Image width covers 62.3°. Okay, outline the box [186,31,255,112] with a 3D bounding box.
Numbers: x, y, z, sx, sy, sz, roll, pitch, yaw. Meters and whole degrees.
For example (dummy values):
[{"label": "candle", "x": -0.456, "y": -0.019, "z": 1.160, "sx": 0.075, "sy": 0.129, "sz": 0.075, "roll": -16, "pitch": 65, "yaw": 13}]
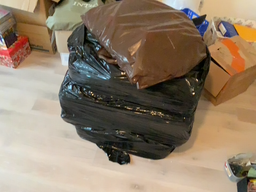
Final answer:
[{"label": "box", "x": 0.790, "y": -0.220, "z": 1.810, "sx": 0.380, "sy": 0.370, "sz": 0.500, "roll": 21, "pitch": 50, "yaw": 13}]
